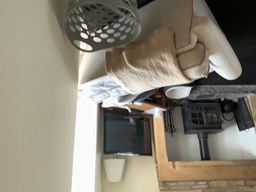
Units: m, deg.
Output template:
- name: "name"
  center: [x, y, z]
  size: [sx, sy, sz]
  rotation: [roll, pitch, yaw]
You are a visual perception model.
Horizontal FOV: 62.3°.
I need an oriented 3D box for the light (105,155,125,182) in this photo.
- name: "light"
  center: [-0.210, 1.120, 3.300]
  size: [0.370, 0.250, 0.310]
  rotation: [167, 106, -76]
